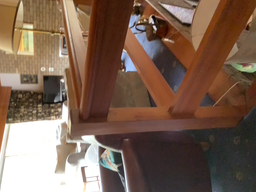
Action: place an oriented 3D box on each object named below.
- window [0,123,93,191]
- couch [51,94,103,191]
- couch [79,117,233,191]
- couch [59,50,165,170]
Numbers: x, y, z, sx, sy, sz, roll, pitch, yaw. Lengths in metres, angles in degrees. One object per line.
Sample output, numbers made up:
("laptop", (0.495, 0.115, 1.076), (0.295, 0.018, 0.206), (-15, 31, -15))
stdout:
("window", (-2.170, 1.690, 5.590), (2.420, 2.060, 0.250), (-117, 34, -48))
("couch", (-1.320, 1.030, 5.040), (1.930, 0.880, 1.230), (-115, 32, -46))
("couch", (0.120, 0.530, 1.470), (0.750, 0.780, 0.720), (169, 99, -68))
("couch", (-0.300, 0.200, 2.450), (1.000, 0.850, 0.950), (123, 141, -54))
